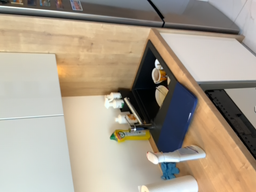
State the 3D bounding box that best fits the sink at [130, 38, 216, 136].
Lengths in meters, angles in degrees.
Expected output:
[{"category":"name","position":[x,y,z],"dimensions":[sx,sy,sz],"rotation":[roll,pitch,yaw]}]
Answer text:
[{"category":"sink","position":[0.260,-0.060,1.460],"dimensions":[0.460,0.240,0.470],"rotation":[112,147,-44]}]
